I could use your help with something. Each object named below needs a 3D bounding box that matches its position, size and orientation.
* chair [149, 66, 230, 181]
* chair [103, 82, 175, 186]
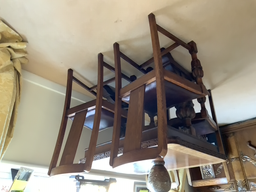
[{"bbox_3d":[0.540,0.280,1.950,0.460,0.870,0.490,-19,147,29],"label":"chair"},{"bbox_3d":[0.110,0.410,2.170,0.460,0.870,0.530,-19,147,28],"label":"chair"}]
